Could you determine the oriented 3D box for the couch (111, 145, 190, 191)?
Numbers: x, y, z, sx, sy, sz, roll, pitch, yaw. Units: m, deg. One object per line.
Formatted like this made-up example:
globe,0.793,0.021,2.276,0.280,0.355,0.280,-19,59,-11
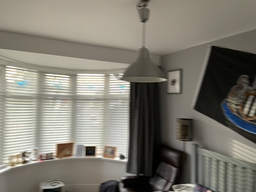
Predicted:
couch,0.310,1.300,3.150,0.860,0.940,0.750,3,-1,-29
